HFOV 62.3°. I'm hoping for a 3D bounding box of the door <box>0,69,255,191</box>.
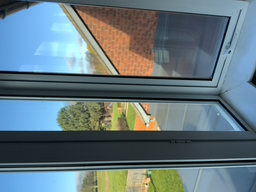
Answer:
[{"bbox_3d":[0.330,0.620,0.350,2.630,2.050,0.130,-103,18,-57],"label":"door"}]
